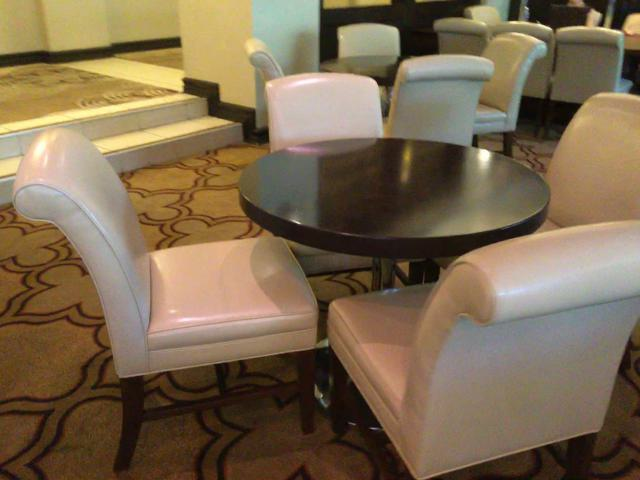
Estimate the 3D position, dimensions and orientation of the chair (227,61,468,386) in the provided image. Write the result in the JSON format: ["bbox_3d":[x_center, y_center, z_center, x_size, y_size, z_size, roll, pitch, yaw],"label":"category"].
[{"bbox_3d":[0.060,-0.130,2.270,0.610,0.940,0.840,-10,27,-15],"label":"chair"}]

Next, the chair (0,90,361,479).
[{"bbox_3d":[-0.370,0.120,1.720,0.820,0.930,0.610,-9,27,-12],"label":"chair"}]

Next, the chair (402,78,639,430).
[{"bbox_3d":[0.760,0.000,1.970,0.770,0.910,0.530,-14,28,-21],"label":"chair"}]

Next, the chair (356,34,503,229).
[{"bbox_3d":[0.570,-0.660,3.330,0.560,0.880,0.830,-6,26,-6],"label":"chair"}]

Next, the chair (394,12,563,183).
[{"bbox_3d":[1.010,-0.990,3.920,0.840,0.940,0.680,-7,27,-8],"label":"chair"}]

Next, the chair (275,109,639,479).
[{"bbox_3d":[0.350,0.260,1.440,0.600,0.920,0.870,-13,28,-19],"label":"chair"}]
